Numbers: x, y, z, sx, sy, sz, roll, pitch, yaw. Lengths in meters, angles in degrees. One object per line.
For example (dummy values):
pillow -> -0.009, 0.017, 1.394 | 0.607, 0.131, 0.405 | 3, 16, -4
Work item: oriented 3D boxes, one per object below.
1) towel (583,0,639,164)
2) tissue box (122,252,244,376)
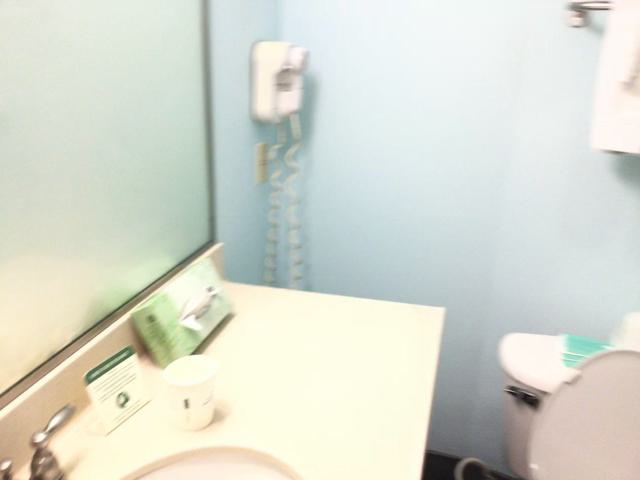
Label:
towel -> 0.660, -0.340, 1.210 | 0.140, 0.340, 0.130 | 5, 18, 15
tissue box -> -0.250, 0.130, 1.110 | 0.110, 0.130, 0.260 | 5, 18, 15
